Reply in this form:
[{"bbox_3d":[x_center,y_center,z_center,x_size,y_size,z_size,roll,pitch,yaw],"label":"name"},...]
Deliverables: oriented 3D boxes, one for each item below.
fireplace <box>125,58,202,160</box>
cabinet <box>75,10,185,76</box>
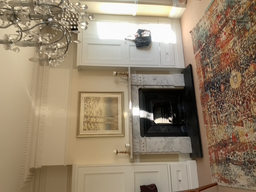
[{"bbox_3d":[0.600,0.280,4.180,0.760,1.230,1.850,113,157,-72],"label":"fireplace"},{"bbox_3d":[0.030,-1.160,4.800,0.600,2.270,1.240,113,157,-72],"label":"cabinet"}]
